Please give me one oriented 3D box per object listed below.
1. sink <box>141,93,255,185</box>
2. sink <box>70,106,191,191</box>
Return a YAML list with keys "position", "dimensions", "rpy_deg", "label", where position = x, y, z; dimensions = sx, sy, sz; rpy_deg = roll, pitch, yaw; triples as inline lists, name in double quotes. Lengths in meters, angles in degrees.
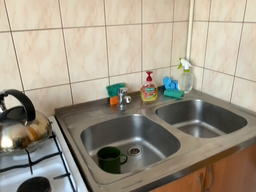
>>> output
- position: [0.320, 0.170, 1.050]
  dimensions: [0.370, 0.200, 0.370]
  rpy_deg: [-12, 25, -25]
  label: "sink"
- position: [-0.010, 0.240, 0.900]
  dimensions: [0.360, 0.200, 0.370]
  rpy_deg: [-12, 25, -25]
  label: "sink"
